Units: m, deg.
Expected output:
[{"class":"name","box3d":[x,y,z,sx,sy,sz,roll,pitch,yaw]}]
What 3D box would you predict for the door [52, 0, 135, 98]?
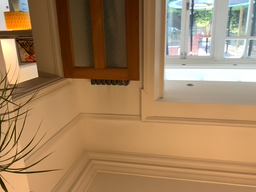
[{"class":"door","box3d":[-0.320,-1.070,1.810,0.700,2.180,0.180,4,-163,17]}]
